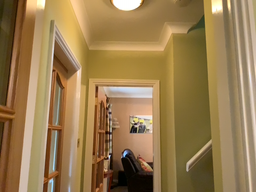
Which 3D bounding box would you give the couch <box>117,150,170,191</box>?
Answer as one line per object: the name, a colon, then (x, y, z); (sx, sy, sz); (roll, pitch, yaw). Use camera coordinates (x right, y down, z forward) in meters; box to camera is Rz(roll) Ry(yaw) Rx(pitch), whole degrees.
couch: (0.370, 1.690, 4.520); (0.990, 0.980, 0.870); (-2, -10, 13)
